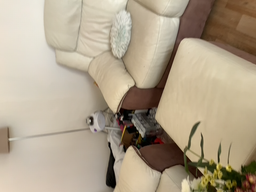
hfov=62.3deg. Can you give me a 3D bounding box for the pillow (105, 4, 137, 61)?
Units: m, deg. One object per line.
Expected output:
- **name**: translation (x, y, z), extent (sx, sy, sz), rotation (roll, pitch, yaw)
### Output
- **pillow**: translation (-0.070, -0.500, 1.680), extent (0.310, 0.070, 0.340), rotation (55, 139, 45)

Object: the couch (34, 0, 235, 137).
- **couch**: translation (-0.060, -0.720, 1.560), extent (1.060, 1.060, 1.610), rotation (55, 139, 44)
